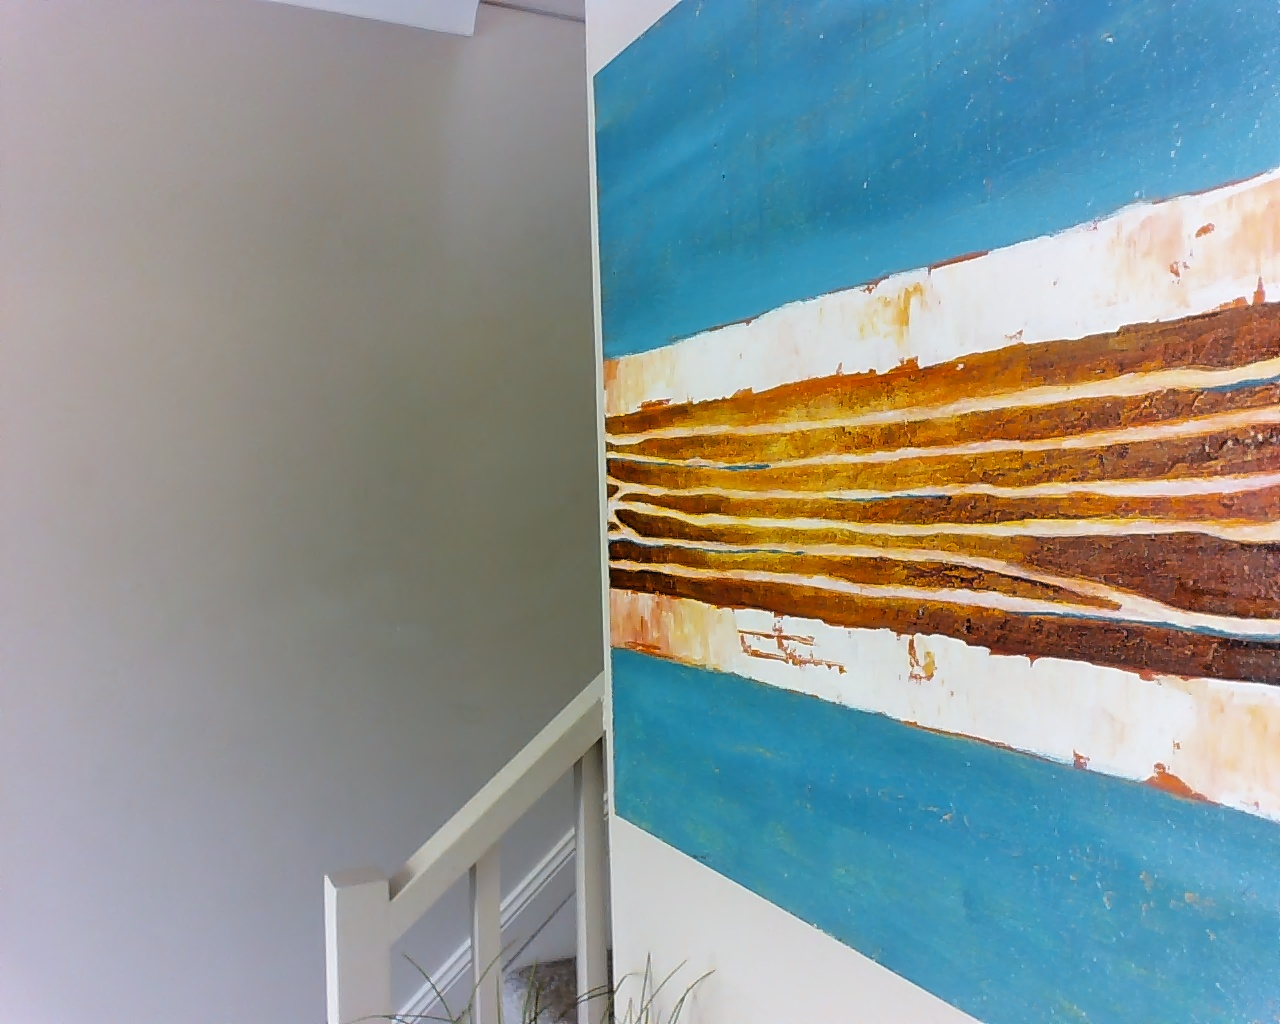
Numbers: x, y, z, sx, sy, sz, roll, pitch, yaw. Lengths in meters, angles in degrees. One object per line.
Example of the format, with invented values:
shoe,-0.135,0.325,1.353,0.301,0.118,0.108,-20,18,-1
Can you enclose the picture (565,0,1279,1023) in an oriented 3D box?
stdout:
picture,0.180,-0.080,0.910,0.070,0.950,0.970,-2,1,-28
